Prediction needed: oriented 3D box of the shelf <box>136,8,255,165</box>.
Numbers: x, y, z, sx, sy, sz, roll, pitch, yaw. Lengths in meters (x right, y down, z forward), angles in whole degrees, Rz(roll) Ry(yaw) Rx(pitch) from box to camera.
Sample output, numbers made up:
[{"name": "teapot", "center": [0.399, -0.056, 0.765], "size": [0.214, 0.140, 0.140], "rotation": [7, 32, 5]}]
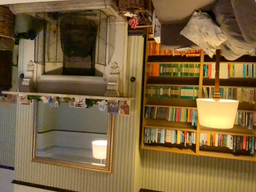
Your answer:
[{"name": "shelf", "center": [1.410, -0.140, 3.070], "size": [2.470, 2.080, 0.390], "rotation": [3, -179, 14]}]

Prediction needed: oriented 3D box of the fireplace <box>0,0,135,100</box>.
[{"name": "fireplace", "center": [-0.870, -0.640, 3.120], "size": [1.770, 1.270, 0.770], "rotation": [3, -179, 14]}]

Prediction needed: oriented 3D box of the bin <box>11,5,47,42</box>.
[{"name": "bin", "center": [-1.510, -1.100, 3.270], "size": [0.340, 0.430, 0.360], "rotation": [3, -179, 13]}]
